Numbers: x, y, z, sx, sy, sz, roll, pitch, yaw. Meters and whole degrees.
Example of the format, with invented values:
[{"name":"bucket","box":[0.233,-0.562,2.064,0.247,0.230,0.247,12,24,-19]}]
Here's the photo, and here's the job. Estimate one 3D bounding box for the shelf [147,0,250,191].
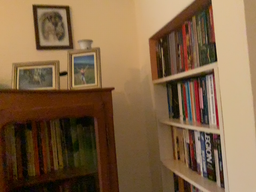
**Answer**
[{"name":"shelf","box":[0.320,0.600,1.030,0.110,1.970,0.600,-3,-1,-16]}]
